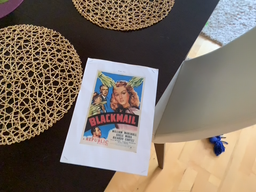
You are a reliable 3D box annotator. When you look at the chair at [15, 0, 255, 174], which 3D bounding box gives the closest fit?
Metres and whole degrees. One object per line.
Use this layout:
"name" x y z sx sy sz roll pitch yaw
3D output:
"chair" 0.090 -0.040 0.930 0.600 0.920 0.450 24 66 6
